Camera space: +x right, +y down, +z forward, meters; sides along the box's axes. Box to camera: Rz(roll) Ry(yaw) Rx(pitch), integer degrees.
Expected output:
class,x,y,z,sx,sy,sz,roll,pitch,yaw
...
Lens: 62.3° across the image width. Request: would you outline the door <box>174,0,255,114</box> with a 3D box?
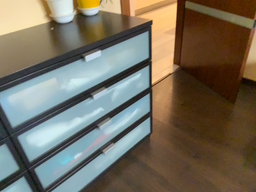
class,x,y,z,sx,sy,sz,roll,pitch,yaw
door,0.680,-0.970,1.570,0.040,2.180,0.900,-16,36,-17
